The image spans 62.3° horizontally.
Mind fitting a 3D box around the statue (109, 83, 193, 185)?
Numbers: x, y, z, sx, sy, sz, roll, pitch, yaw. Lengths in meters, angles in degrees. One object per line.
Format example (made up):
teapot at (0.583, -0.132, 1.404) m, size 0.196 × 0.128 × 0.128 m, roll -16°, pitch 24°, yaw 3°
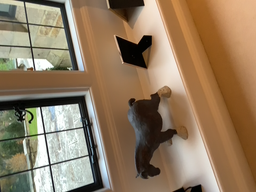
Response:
statue at (0.120, 0.200, 1.210) m, size 0.190 × 0.280 × 0.500 m, roll -36°, pitch 66°, yaw 49°
